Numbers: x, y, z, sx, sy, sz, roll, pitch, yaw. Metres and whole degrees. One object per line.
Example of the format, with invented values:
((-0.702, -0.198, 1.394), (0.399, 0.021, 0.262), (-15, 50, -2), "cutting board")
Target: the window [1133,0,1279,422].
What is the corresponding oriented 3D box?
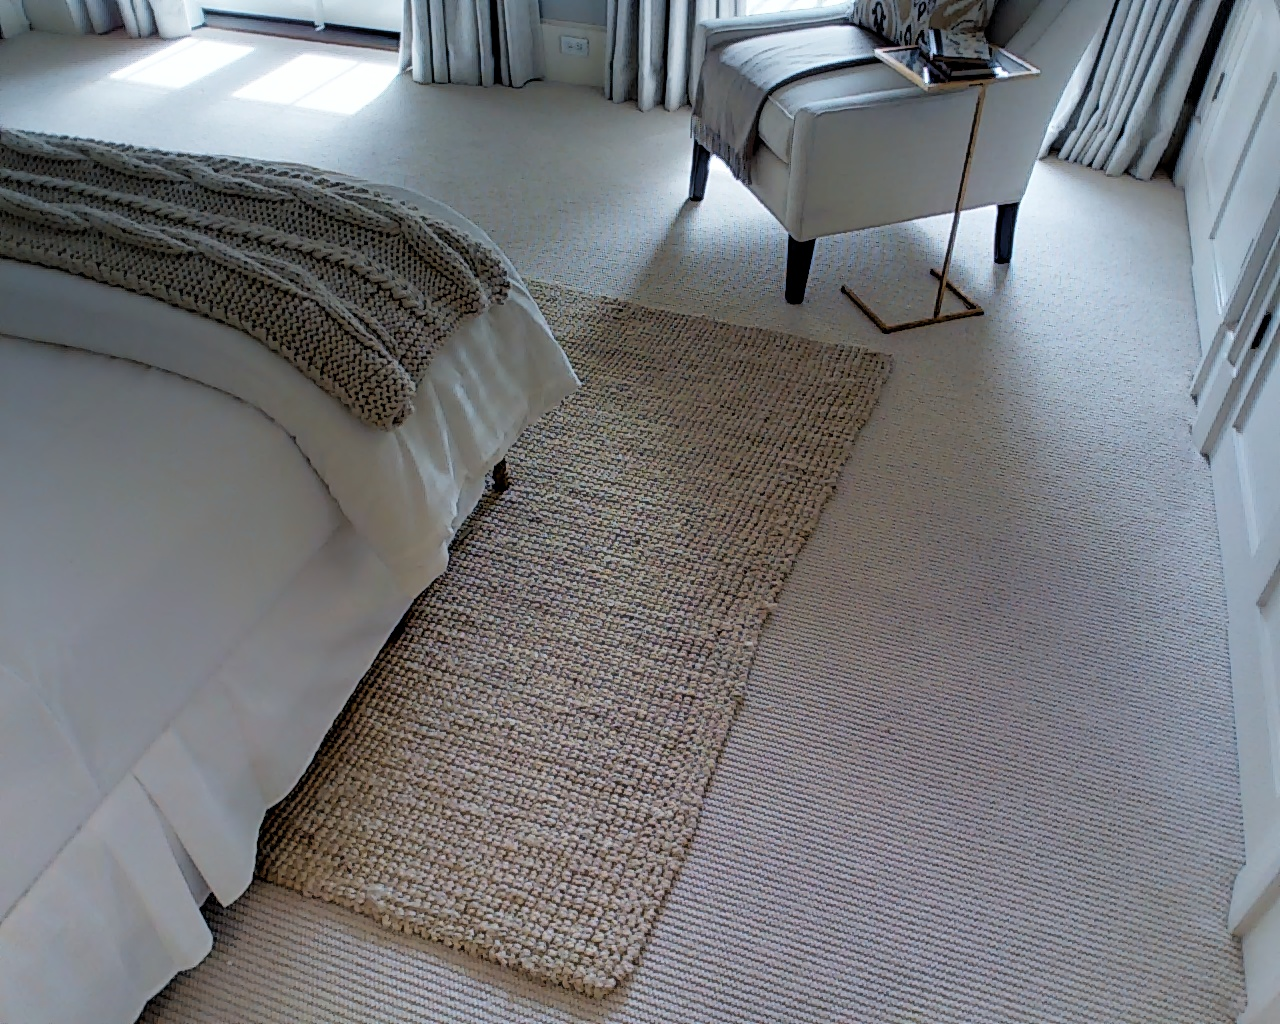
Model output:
((1.580, -1.540, 2.420), (0.240, 2.200, 1.520), (13, 44, 14), "window")
